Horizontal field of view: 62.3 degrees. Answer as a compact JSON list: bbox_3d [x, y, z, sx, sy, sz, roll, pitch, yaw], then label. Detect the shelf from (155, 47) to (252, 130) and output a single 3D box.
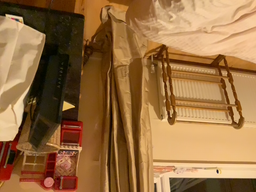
[{"bbox_3d":[0.640,-0.070,1.910,0.710,0.700,0.190,4,153,-10],"label":"shelf"}]
